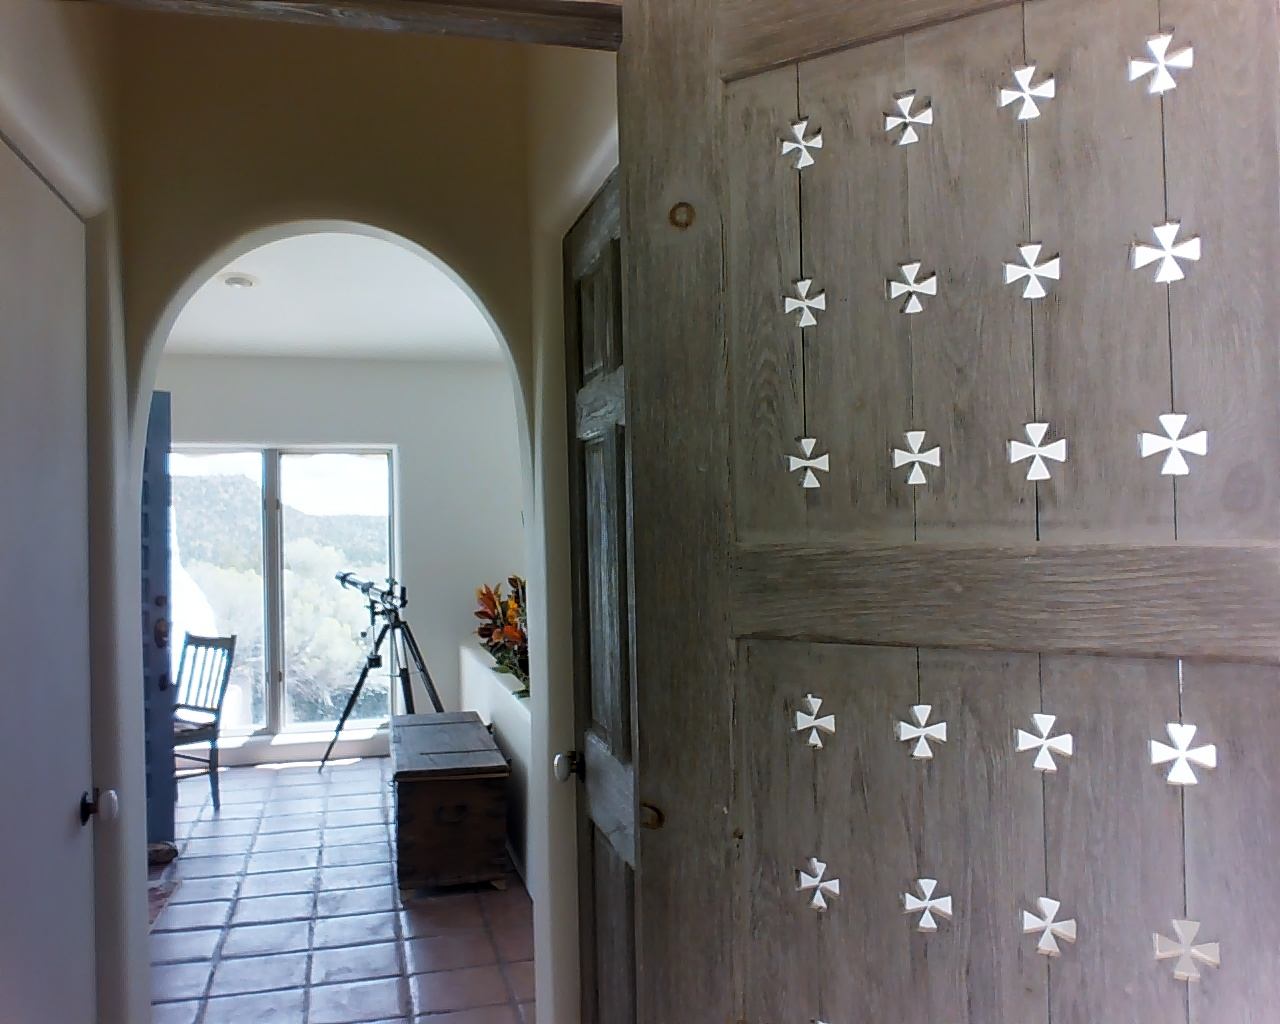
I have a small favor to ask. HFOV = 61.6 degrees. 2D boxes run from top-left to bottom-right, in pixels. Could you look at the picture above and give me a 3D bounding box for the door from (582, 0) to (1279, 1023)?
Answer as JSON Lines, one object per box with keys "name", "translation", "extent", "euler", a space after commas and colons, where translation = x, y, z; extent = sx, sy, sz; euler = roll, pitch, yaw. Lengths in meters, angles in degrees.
{"name": "door", "translation": [0.340, 0.390, 0.980], "extent": [0.860, 2.091, 0.070], "euler": [-1, -1, 30]}
